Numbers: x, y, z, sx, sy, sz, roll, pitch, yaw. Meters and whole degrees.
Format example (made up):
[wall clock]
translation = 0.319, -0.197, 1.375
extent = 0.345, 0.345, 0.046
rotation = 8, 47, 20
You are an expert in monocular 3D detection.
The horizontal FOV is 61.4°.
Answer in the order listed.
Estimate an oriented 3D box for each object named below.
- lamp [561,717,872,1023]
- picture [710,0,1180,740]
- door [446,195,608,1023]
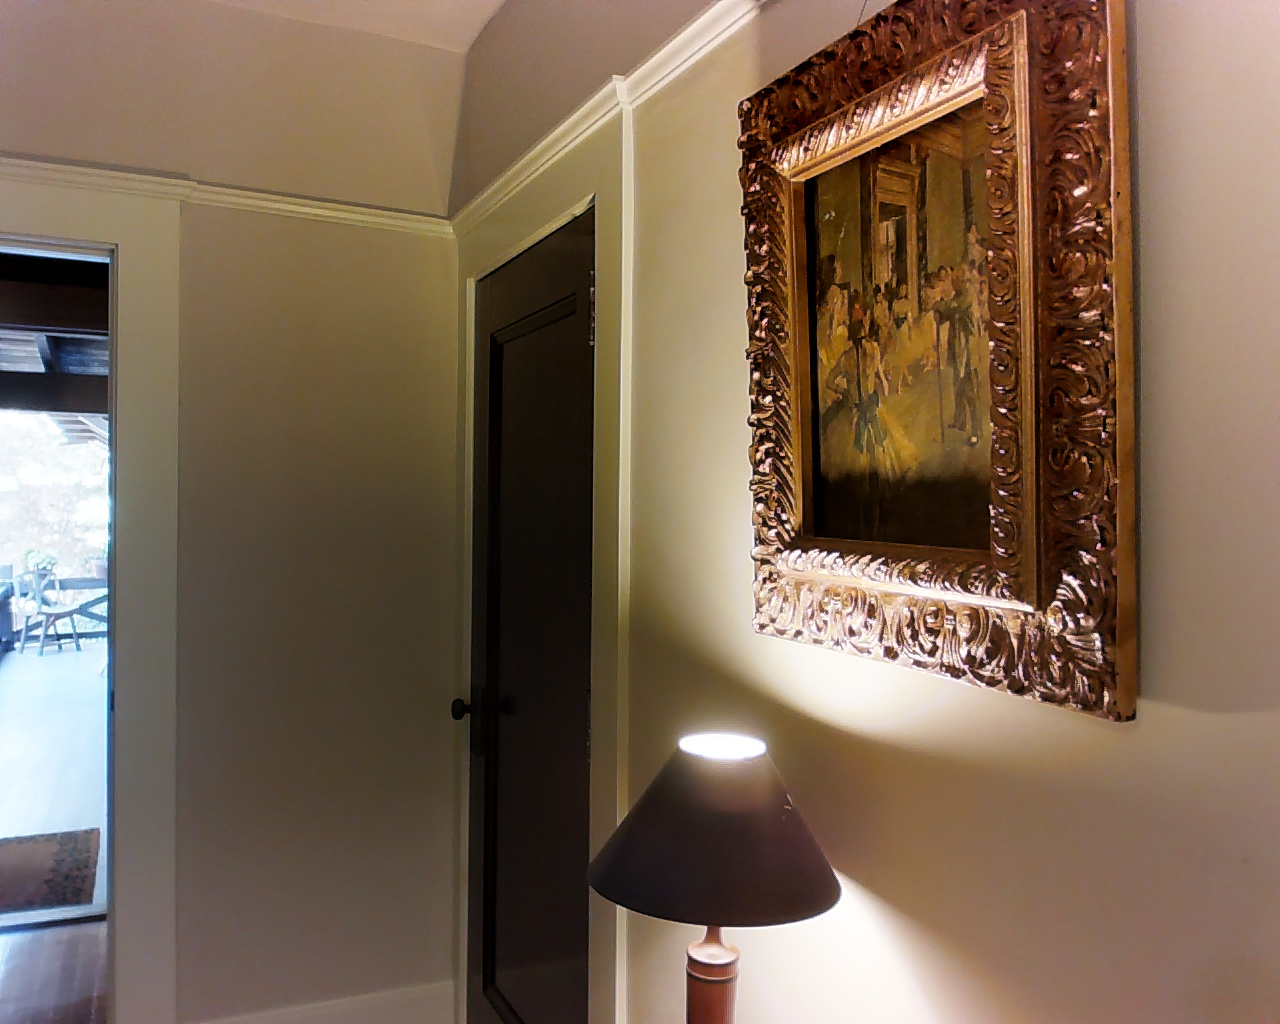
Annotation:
[lamp]
translation = 0.080, 0.520, 1.290
extent = 0.260, 0.480, 0.290
rotation = 1, 0, -25
[picture]
translation = 0.280, -0.200, 1.190
extent = 0.110, 0.770, 0.630
rotation = 1, 0, -25
[door]
translation = -0.290, 0.460, 2.480
extent = 0.070, 2.140, 0.880
rotation = 1, 0, -25
